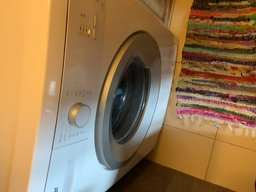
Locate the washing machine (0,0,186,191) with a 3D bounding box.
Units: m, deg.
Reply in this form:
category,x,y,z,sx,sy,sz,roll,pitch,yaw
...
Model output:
category,x,y,z,sx,sy,sz,roll,pitch,yaw
washing machine,-0.190,-0.020,0.830,0.550,0.830,0.630,14,99,23
